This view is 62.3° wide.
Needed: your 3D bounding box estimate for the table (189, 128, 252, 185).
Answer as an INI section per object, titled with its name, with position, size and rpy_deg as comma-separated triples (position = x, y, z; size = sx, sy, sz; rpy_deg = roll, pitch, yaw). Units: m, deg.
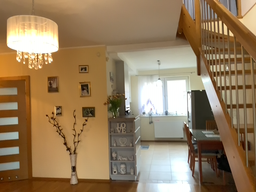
[table]
position = 1.810, 1.150, 4.440
size = 0.880, 0.760, 1.530
rpy_deg = -2, -1, 11
